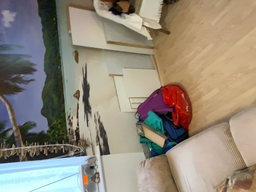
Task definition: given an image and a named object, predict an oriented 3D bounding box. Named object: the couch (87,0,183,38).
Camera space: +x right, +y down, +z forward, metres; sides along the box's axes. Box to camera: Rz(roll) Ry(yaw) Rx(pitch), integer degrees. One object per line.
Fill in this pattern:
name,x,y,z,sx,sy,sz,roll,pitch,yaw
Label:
couch,0.070,-1.110,2.350,0.700,0.760,0.590,52,131,48
